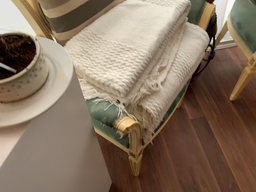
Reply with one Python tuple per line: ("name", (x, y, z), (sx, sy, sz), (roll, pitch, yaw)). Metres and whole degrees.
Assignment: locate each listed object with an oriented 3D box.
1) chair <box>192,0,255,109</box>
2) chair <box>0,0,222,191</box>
("chair", (0.820, -0.480, 1.120), (0.550, 1.010, 0.540), (-13, 55, -8))
("chair", (-0.070, -0.140, 0.920), (0.600, 0.990, 0.640), (27, 60, 19))
